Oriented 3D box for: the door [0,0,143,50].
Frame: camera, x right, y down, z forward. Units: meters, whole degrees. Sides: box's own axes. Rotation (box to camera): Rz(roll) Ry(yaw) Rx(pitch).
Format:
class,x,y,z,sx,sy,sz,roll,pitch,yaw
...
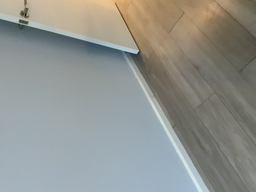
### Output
class,x,y,z,sx,sy,sz,roll,pitch,yaw
door,-0.780,-0.820,1.500,0.030,2.040,0.790,-48,53,34
